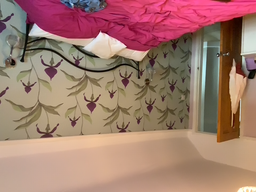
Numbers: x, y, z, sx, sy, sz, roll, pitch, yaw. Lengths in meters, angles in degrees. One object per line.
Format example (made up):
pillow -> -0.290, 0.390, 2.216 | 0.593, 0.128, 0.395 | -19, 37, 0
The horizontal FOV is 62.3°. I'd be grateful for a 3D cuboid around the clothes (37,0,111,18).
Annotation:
clothes -> -0.450, -0.800, 1.740 | 0.470, 0.070, 0.420 | 4, 178, -34
